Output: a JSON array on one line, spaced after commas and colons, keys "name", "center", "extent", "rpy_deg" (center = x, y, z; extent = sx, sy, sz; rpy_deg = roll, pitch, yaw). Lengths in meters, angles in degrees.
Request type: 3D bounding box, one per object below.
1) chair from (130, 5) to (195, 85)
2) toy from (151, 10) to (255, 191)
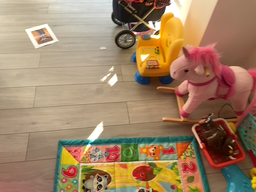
[{"name": "chair", "center": [0.230, -0.400, 1.670], "extent": [0.340, 0.400, 0.460], "rpy_deg": [-3, 54, -7]}, {"name": "toy", "center": [0.640, 0.010, 1.290], "extent": [0.770, 0.620, 0.860], "rpy_deg": [-2, 54, -7]}]
